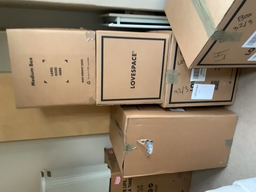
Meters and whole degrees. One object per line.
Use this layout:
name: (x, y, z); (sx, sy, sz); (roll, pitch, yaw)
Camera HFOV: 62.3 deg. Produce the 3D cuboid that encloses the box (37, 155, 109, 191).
box: (-0.510, 0.840, 1.990); (0.330, 0.590, 0.380); (-133, 44, -65)
